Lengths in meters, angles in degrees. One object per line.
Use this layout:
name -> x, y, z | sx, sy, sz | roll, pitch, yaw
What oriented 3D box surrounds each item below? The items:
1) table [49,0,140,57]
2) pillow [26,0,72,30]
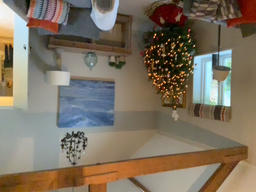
table -> -0.660, -1.350, 4.400 | 1.790, 0.860, 0.440 | 1, -178, -25
pillow -> -1.080, -1.200, 2.930 | 0.120, 0.350, 0.600 | -33, 148, 32
